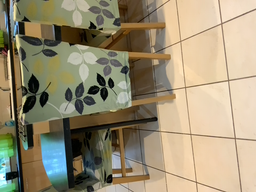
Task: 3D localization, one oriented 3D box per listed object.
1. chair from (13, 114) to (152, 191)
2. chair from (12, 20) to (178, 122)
[{"bbox_3d":[-0.350,0.480,1.690,0.450,0.940,0.560,-8,87,59],"label":"chair"},{"bbox_3d":[-0.230,-0.120,1.430,0.570,0.920,0.460,-10,86,59],"label":"chair"}]
